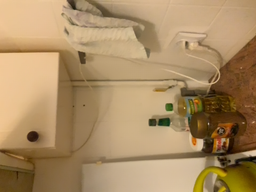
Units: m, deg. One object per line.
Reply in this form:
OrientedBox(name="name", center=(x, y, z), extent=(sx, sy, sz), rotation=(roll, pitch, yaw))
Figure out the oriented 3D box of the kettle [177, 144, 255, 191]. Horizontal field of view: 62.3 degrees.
OrientedBox(name="kettle", center=(0.300, 0.310, 0.690), extent=(0.260, 0.160, 0.260), rotation=(107, 160, -68))
